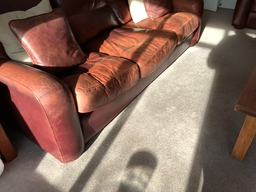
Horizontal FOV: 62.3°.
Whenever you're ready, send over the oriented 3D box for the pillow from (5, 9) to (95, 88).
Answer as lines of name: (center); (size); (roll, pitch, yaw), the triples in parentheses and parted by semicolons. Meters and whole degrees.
pillow: (-0.490, -0.330, 1.420); (0.180, 0.380, 0.420); (-13, 20, 35)
